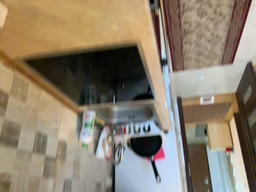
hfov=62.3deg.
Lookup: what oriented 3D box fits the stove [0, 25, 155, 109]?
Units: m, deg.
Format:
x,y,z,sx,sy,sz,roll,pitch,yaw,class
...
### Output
x,y,z,sx,sy,sz,roll,pitch,yaw,class
-0.190,-0.080,1.070,0.560,0.030,0.630,-7,156,14,stove
